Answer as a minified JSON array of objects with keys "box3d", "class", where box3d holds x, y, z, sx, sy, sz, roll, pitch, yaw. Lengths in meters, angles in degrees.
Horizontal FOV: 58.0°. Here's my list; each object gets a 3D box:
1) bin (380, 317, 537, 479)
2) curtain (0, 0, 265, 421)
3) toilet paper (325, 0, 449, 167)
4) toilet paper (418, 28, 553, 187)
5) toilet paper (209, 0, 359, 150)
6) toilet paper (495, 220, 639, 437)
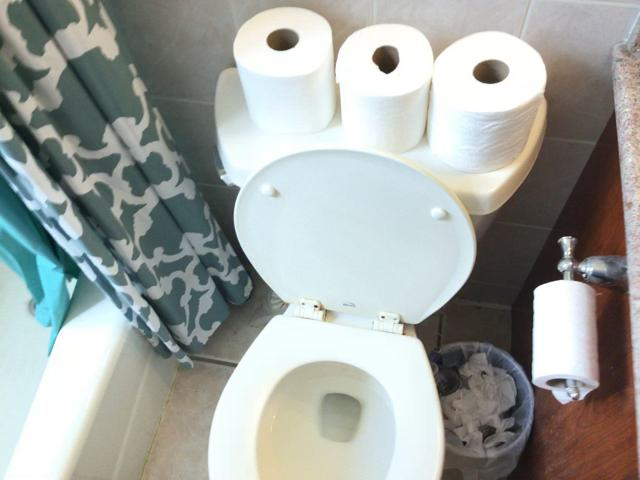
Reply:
[{"box3d":[0.270,0.350,1.160,0.250,0.250,0.270,9,59,8],"class":"bin"},{"box3d":[-0.460,-0.290,0.570,0.510,1.840,0.350,9,59,8],"class":"curtain"},{"box3d":[0.090,-0.210,0.770,0.130,0.120,0.170,9,59,8],"class":"toilet paper"},{"box3d":[0.210,-0.170,0.740,0.140,0.110,0.150,9,59,8],"class":"toilet paper"},{"box3d":[-0.040,-0.230,0.790,0.160,0.120,0.150,9,59,8],"class":"toilet paper"},{"box3d":[0.310,0.120,0.750,0.110,0.200,0.200,9,59,8],"class":"toilet paper"}]
